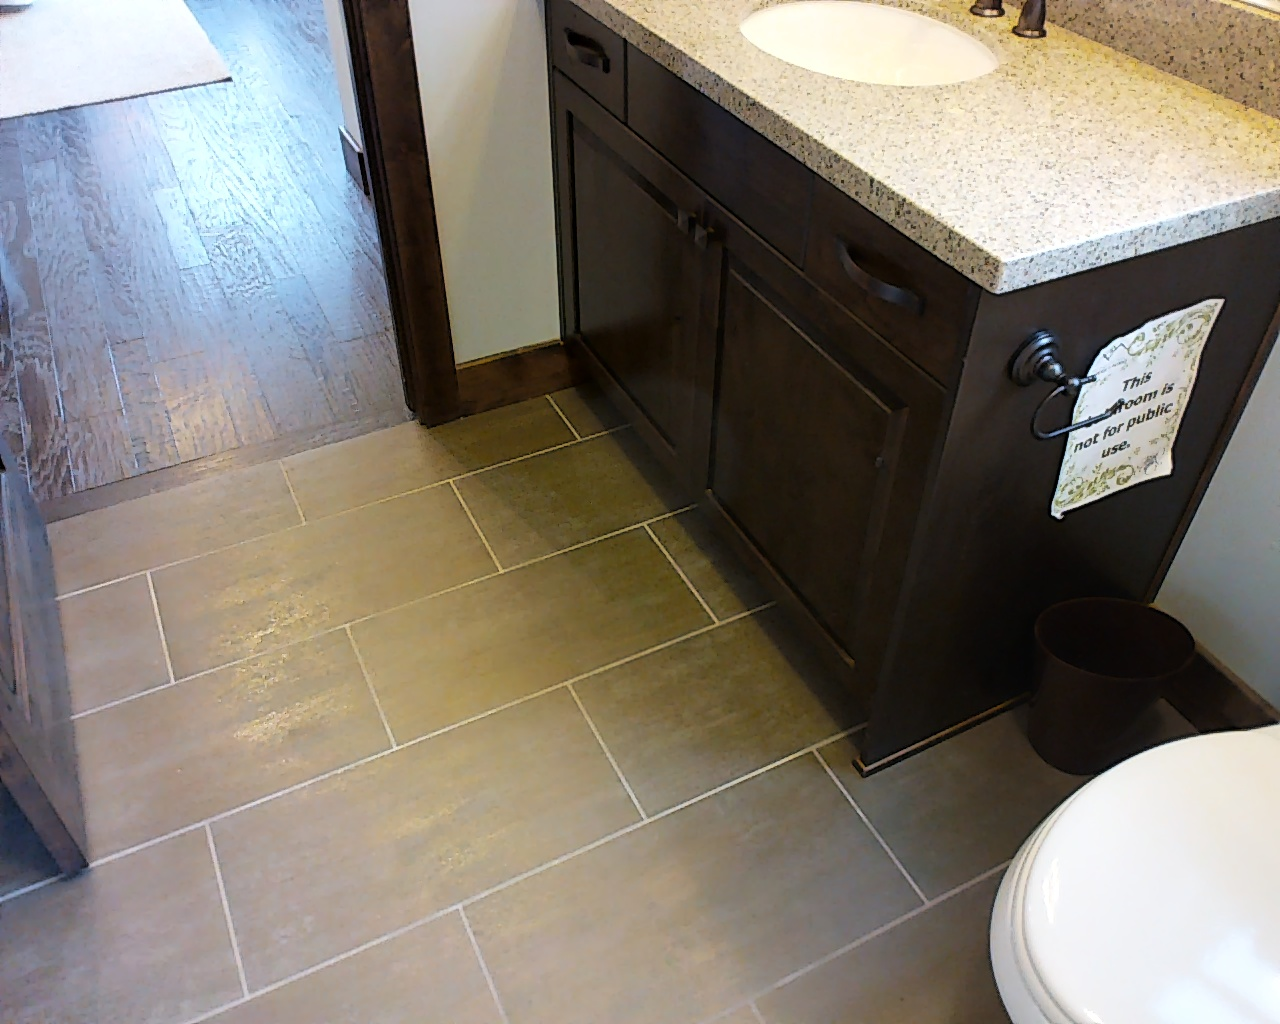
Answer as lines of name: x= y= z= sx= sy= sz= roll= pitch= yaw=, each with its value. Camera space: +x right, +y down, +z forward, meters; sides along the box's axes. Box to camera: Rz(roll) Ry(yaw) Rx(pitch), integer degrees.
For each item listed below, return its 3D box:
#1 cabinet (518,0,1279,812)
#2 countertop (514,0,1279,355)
cabinet: x=0.320 y=-0.320 z=1.810 sx=0.570 sy=0.910 sz=1.180 roll=-19 pitch=45 yaw=-21
countertop: x=0.320 y=-0.670 z=1.520 sx=0.580 sy=0.180 sz=1.220 roll=-19 pitch=45 yaw=-20
